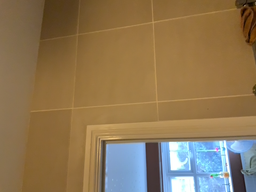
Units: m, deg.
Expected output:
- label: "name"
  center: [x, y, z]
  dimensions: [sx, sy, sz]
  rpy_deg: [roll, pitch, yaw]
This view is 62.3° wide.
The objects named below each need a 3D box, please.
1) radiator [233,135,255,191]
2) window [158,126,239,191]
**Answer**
- label: "radiator"
  center: [2.080, 1.220, 3.410]
  dimensions: [0.320, 0.490, 1.110]
  rpy_deg: [56, -149, -64]
- label: "window"
  center: [1.230, 1.420, 3.800]
  dimensions: [0.200, 1.270, 1.700]
  rpy_deg: [59, -151, -62]
